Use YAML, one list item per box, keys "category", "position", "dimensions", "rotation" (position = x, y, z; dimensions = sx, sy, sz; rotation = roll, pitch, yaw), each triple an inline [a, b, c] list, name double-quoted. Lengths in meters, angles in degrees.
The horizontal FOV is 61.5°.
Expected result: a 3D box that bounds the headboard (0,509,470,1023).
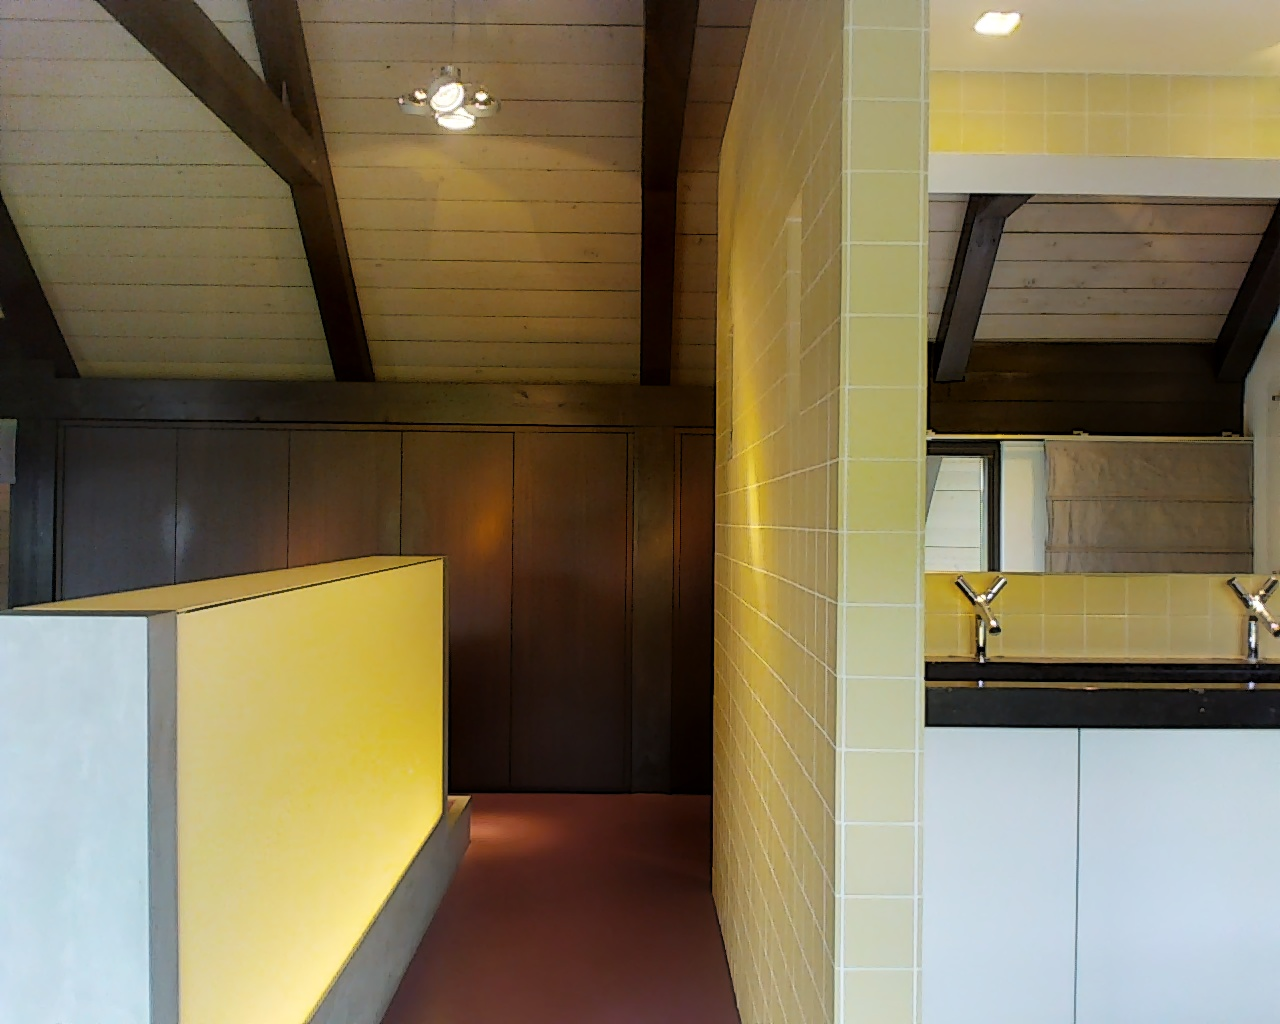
- category: "headboard"
  position: [-0.830, 0.560, 2.700]
  dimensions: [0.390, 1.120, 2.600]
  rotation: [1, 0, 0]
